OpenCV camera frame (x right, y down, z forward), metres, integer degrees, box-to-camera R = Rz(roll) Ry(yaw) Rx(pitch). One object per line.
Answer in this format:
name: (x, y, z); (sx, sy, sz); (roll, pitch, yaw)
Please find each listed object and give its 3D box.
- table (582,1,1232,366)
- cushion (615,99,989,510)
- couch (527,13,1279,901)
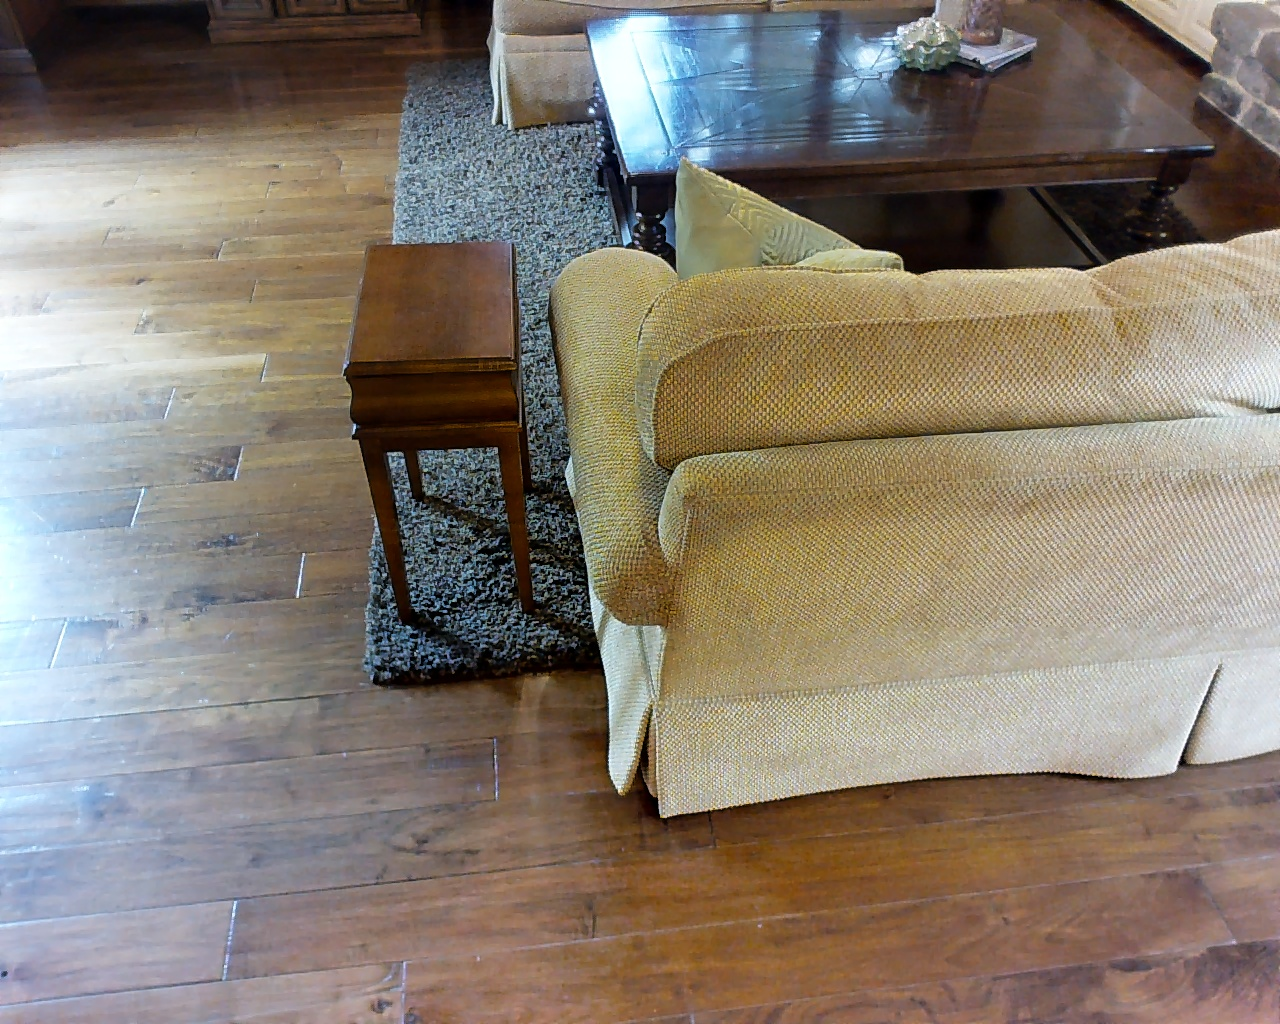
table: (0.610, -0.970, 3.020); (1.440, 0.510, 1.050); (-5, 43, -6)
cushion: (0.240, -0.320, 1.710); (0.460, 0.400, 0.270); (39, 72, 22)
couch: (0.910, -0.180, 1.850); (2.100, 0.930, 1.080); (-4, 43, -5)
